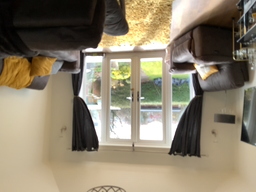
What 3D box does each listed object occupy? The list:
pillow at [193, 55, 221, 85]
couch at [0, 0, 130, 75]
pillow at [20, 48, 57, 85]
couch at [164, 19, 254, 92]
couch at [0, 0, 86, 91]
[{"bbox_3d":[1.390,-0.480,3.780,0.210,0.380,0.510,-9,-154,-9],"label":"pillow"},{"bbox_3d":[-0.570,-0.720,1.610,1.010,0.940,1.090,0,177,9],"label":"couch"},{"bbox_3d":[-1.460,-0.490,3.500,0.170,0.410,0.480,11,-138,22],"label":"pillow"},{"bbox_3d":[1.320,-0.600,3.710,0.970,0.960,1.140,1,177,-14],"label":"couch"},{"bbox_3d":[-1.500,-0.630,3.360,1.080,0.970,1.740,0,177,9],"label":"couch"}]
